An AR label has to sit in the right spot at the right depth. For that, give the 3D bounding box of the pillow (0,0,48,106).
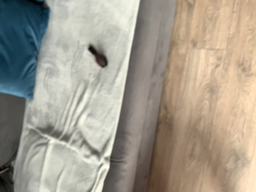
[{"bbox_3d":[-0.550,-0.230,1.020,0.130,0.270,0.510,25,117,26],"label":"pillow"}]
